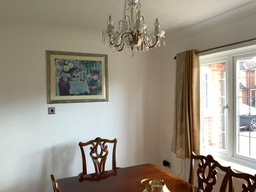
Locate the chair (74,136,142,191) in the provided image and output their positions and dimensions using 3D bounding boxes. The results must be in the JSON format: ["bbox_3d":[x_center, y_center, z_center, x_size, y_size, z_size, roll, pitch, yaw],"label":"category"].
[{"bbox_3d":[-0.250,1.030,2.400,0.590,0.990,0.610,-1,0,-26],"label":"chair"}]

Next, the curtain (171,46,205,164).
[{"bbox_3d":[0.780,0.110,2.810,0.160,1.430,0.480,-1,0,-22],"label":"curtain"}]
